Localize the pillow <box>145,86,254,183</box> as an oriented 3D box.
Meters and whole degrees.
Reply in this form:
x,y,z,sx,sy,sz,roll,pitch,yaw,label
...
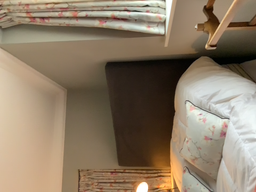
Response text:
x,y,z,sx,sy,sz,roll,pitch,yaw,label
0.520,0.310,1.570,0.690,0.410,0.160,39,-159,-18,pillow
